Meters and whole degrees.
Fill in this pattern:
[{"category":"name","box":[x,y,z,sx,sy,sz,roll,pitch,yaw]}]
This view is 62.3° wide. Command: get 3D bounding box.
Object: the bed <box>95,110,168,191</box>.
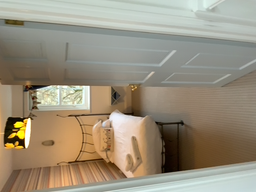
[{"category":"bed","box":[-0.090,0.830,3.860,2.100,0.610,1.040,178,93,-70]}]
